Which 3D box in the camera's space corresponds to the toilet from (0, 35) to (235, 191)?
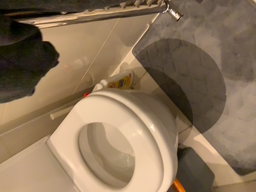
[{"bbox_3d":[-0.100,0.190,0.650,0.400,0.810,0.480,51,132,7],"label":"toilet"}]
